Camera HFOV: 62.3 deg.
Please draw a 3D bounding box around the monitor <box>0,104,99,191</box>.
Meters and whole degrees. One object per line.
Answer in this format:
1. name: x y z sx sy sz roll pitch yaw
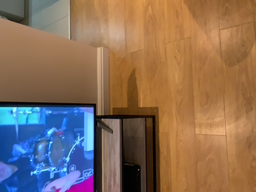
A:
1. monitor: -0.410 0.620 1.130 0.060 0.650 1.150 -3 86 38
